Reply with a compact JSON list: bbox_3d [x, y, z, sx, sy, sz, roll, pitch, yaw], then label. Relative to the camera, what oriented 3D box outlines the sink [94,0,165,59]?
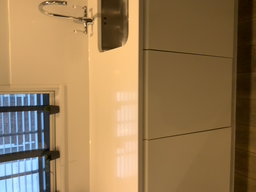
[{"bbox_3d":[-0.010,-0.490,1.270,0.410,0.240,0.470,6,96,58],"label":"sink"}]

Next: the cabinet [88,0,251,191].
[{"bbox_3d":[0.270,-0.320,1.470,0.620,0.920,2.130,6,96,58],"label":"cabinet"}]
